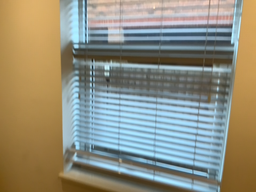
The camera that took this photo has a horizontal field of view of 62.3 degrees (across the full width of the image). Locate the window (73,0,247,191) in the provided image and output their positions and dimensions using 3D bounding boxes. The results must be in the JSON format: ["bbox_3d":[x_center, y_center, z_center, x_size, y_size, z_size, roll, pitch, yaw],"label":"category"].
[{"bbox_3d":[0.100,-0.050,1.430,1.100,1.450,0.050,7,12,22],"label":"window"}]
